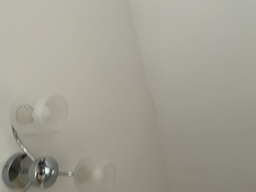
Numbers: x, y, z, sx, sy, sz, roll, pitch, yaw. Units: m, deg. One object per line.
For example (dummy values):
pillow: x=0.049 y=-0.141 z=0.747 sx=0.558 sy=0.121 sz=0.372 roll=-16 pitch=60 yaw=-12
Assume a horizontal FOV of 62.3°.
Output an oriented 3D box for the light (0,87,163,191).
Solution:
light: x=-0.190 y=0.280 z=0.620 sx=0.550 sy=0.480 sz=0.260 roll=-10 pitch=-167 yaw=-1
